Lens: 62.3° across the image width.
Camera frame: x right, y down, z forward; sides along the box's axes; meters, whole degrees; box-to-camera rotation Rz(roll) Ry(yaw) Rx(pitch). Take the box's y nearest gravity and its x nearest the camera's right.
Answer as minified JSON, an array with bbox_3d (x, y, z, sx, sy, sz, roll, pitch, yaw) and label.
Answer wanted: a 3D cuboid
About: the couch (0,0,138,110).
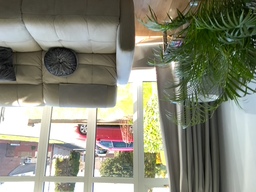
[{"bbox_3d":[-0.870,-0.460,2.220,1.830,1.010,1.040,1,165,-4],"label":"couch"}]

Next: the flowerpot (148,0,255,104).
[{"bbox_3d":[0.570,-0.620,1.530,0.750,1.220,0.740,0,165,-2],"label":"flowerpot"}]
